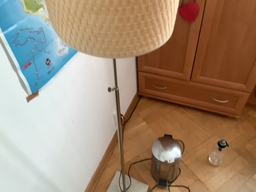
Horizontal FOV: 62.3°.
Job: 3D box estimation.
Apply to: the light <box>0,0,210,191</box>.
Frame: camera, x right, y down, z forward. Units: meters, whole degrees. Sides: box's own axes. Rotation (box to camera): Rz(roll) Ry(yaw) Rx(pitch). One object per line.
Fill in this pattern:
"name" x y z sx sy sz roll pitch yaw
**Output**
"light" -0.070 0.170 0.790 0.470 1.480 0.320 15 48 19
